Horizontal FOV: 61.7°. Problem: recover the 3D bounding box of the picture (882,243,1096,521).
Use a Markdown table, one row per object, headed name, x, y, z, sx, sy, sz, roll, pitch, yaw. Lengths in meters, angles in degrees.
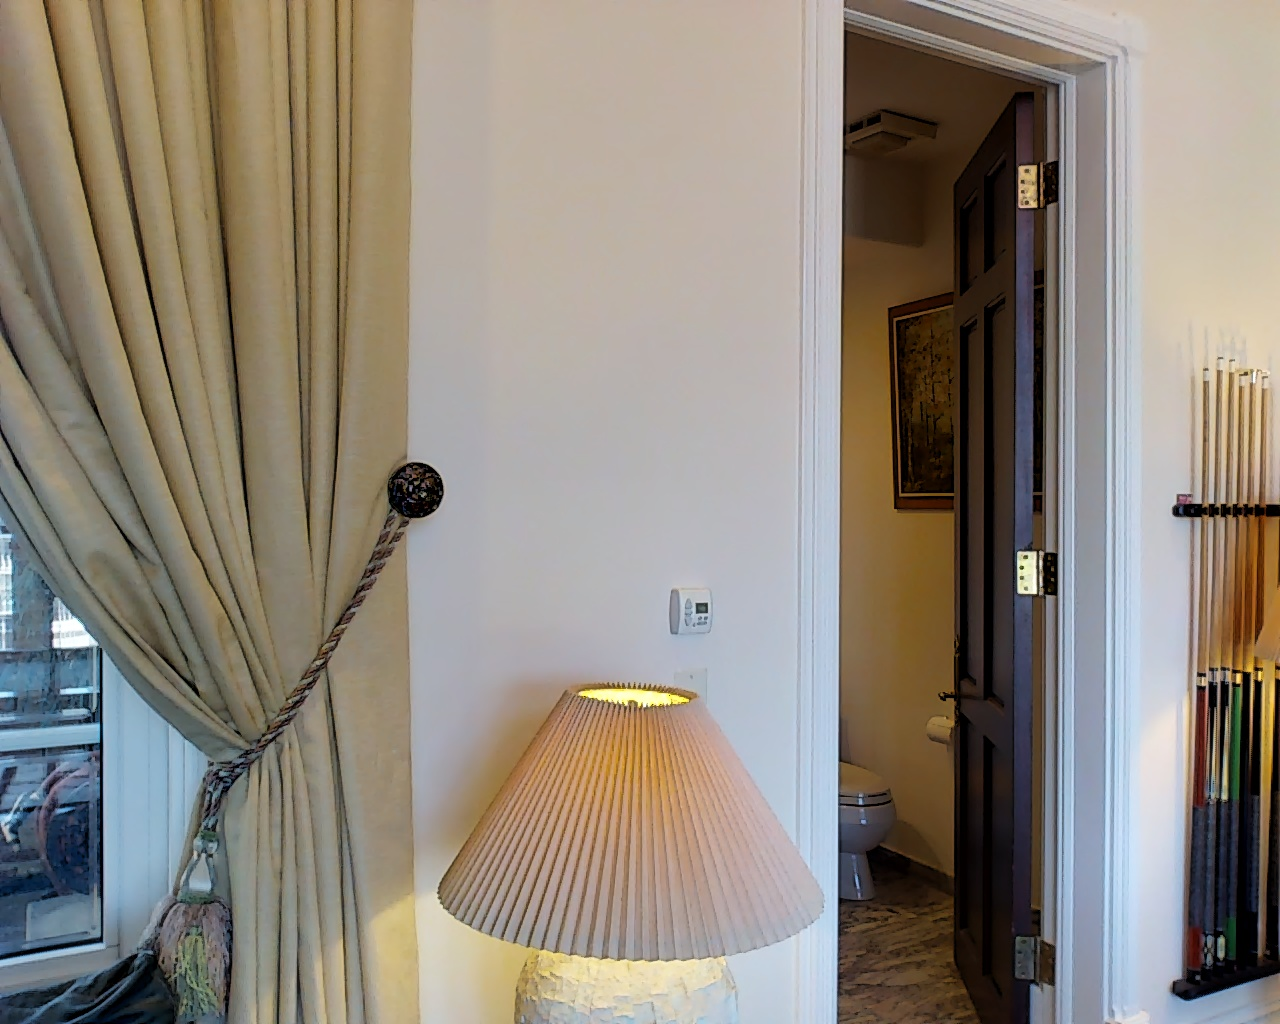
| name | x | y | z | sx | sy | sz | roll | pitch | yaw |
| --- | --- | --- | --- | --- | --- | --- | --- | --- | --- |
| picture | 1.190 | -0.410 | 3.760 | 0.100 | 0.870 | 0.870 | 1 | 0 | -29 |
